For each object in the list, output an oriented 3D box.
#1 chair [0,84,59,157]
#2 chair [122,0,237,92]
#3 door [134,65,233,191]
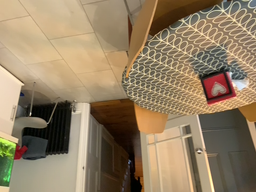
[{"bbox_3d":[-1.340,0.340,2.840,0.550,0.810,0.450,-8,152,10],"label":"chair"},{"bbox_3d":[0.230,-0.510,1.260,0.420,0.850,0.360,8,151,-20],"label":"chair"},{"bbox_3d":[0.550,0.710,2.400,1.020,2.040,0.070,-23,146,34],"label":"door"}]
